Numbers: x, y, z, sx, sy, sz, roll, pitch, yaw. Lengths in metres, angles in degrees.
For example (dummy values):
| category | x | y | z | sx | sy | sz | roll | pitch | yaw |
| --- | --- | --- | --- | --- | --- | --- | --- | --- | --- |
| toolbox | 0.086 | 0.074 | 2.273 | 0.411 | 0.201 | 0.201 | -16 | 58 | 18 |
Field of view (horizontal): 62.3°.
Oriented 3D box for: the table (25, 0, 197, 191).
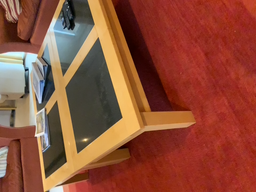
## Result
| category | x | y | z | sx | sy | sz | roll | pitch | yaw |
| --- | --- | --- | --- | --- | --- | --- | --- | --- | --- |
| table | -0.390 | -0.060 | 1.750 | 1.490 | 0.430 | 1.260 | -42 | 58 | 43 |
